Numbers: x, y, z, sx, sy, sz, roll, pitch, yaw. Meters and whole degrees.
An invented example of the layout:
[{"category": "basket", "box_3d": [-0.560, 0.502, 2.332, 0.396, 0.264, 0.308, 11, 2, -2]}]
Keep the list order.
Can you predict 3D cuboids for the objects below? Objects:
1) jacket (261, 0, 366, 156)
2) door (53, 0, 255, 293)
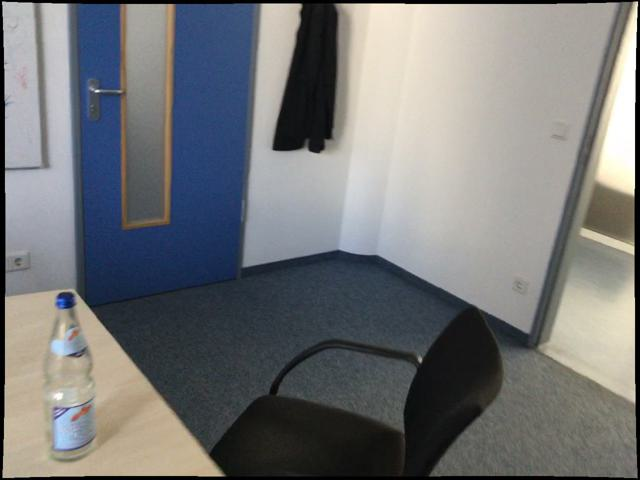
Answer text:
[{"category": "jacket", "box_3d": [-0.040, -0.941, 3.020, 0.400, 0.931, 0.280, -11, 28, -36]}, {"category": "door", "box_3d": [-0.739, -0.741, 2.670, 0.869, 1.972, 0.120, -8, 25, -36]}]
